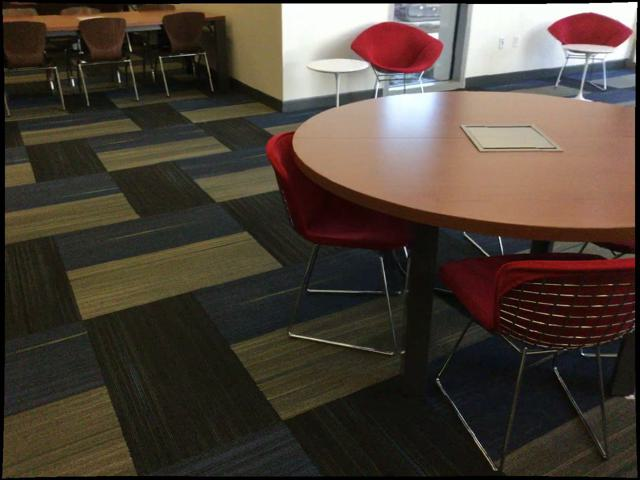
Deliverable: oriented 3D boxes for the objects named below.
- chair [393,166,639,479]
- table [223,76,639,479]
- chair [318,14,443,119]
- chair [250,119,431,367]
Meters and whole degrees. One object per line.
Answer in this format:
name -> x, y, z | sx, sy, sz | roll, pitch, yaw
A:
chair -> 0.628, 0.241, 1.720 | 0.658, 0.731, 0.600 | -3, 28, -6
table -> 0.638, -0.030, 2.240 | 1.497, 0.772, 1.500 | -15, 31, -27
chair -> 0.509, -1.604, 5.240 | 0.828, 0.731, 0.810 | -10, 29, -18
chair -> 0.080, -0.020, 2.210 | 0.549, 0.701, 0.670 | 2, 28, 3
